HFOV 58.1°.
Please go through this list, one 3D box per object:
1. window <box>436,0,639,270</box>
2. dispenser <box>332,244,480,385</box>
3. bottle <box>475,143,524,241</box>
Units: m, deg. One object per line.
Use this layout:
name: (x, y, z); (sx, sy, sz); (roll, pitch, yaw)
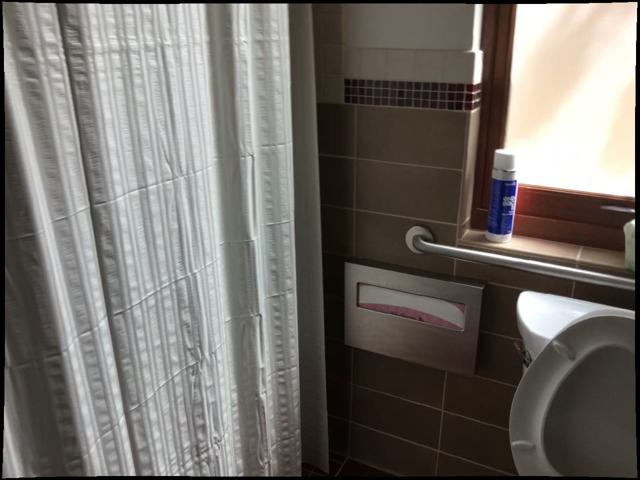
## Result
window: (0.738, -0.471, 1.270); (0.888, 1.112, 0.120); (12, 27, 27)
dispenser: (0.239, 0.211, 1.690); (0.409, 0.321, 0.090); (12, 27, 27)
bottle: (0.479, -0.130, 1.540); (0.080, 0.231, 0.110); (11, 27, 27)
